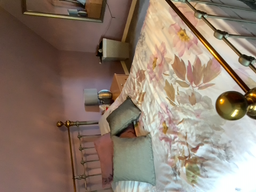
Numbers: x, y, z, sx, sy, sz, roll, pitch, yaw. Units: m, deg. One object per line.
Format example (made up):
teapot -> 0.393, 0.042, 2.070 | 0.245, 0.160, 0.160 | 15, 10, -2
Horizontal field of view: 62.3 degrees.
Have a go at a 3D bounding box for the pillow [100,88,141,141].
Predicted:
pillow -> -0.100, 0.190, 2.260 | 0.420, 0.260, 0.350 | -113, 31, -42

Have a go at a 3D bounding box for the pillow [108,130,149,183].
pillow -> 0.020, 0.560, 1.940 | 0.170, 0.360, 0.380 | -16, 55, 31

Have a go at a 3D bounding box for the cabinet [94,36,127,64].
cabinet -> -0.340, -0.880, 4.080 | 0.250, 0.570, 0.430 | 161, 107, -67

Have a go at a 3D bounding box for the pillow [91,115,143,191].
pillow -> -0.150, 0.590, 2.210 | 0.530, 0.300, 0.560 | -117, 34, -48
